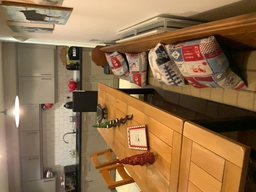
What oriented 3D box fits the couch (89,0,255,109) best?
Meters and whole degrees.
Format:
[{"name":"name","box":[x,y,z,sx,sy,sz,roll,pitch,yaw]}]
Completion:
[{"name":"couch","box":[0.370,-0.460,2.210,3.080,0.920,0.580,-158,69,-67]}]

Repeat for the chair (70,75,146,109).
[{"name":"chair","box":[-0.370,-0.090,3.730,0.630,1.180,0.480,-158,69,-67]}]
